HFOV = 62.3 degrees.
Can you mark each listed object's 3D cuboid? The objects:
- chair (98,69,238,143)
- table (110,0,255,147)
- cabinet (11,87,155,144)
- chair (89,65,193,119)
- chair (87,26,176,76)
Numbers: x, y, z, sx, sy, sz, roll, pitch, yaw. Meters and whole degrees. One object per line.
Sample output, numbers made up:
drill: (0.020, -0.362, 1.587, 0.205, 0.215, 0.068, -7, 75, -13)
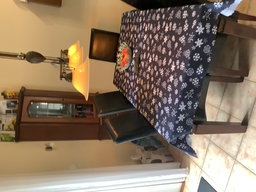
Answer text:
chair: (0.350, 0.090, 1.940, 0.430, 1.120, 0.490, -138, 54, -64)
table: (0.450, -0.340, 2.210, 1.650, 0.780, 0.950, -135, 51, -63)
cabinet: (-0.650, 0.300, 3.310, 0.640, 1.980, 0.580, -133, 49, -62)
chair: (0.140, -0.040, 2.530, 0.430, 1.090, 0.500, -141, 57, -65)
chair: (0.020, -0.610, 2.920, 0.530, 1.040, 0.430, -123, 41, -58)
